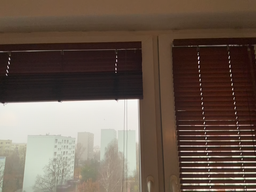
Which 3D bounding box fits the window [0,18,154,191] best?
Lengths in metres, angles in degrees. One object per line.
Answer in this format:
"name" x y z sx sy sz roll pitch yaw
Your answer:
"window" -0.350 0.350 0.870 0.900 1.420 0.120 0 -13 -1
